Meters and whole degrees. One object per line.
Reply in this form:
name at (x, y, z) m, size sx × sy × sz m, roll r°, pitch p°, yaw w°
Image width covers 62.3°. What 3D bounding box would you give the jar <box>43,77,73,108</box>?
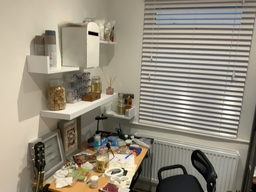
jar at (-0.480, -0.030, 1.470) m, size 0.130 × 0.180 × 0.150 m, roll 5°, pitch 13°, yaw 11°
